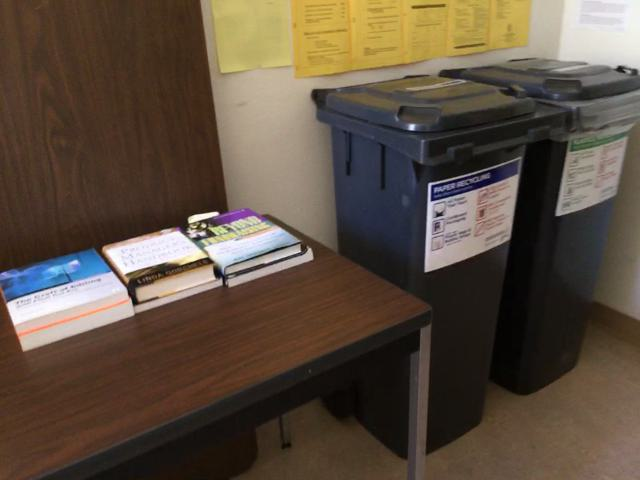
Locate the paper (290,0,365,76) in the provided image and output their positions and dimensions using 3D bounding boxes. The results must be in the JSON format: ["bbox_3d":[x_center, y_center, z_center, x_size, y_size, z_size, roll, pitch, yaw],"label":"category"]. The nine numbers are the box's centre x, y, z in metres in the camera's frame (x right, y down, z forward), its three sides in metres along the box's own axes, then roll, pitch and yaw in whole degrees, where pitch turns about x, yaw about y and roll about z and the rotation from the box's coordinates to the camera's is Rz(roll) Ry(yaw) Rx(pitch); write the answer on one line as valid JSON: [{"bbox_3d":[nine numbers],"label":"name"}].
[{"bbox_3d":[0.020,-0.610,1.560,0.200,0.290,0.040,-20,27,-29],"label":"paper"}]

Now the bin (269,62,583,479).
[{"bbox_3d":[0.300,0.080,1.690,0.540,1.060,0.580,-20,27,-29],"label":"bin"}]

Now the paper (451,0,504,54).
[{"bbox_3d":[0.500,-0.750,1.830,0.210,0.280,0.030,-20,27,-29],"label":"paper"}]

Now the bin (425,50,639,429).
[{"bbox_3d":[0.720,-0.040,1.900,0.470,1.050,0.530,-20,27,-29],"label":"bin"}]

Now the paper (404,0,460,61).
[{"bbox_3d":[0.340,-0.700,1.740,0.190,0.280,0.040,-20,27,-29],"label":"paper"}]
